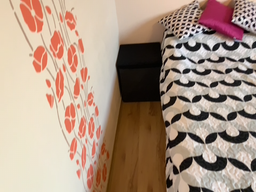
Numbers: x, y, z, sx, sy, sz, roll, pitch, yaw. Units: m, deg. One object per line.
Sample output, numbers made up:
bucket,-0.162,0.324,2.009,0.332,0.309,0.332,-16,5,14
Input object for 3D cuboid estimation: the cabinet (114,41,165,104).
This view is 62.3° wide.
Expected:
cabinet,0.120,-0.240,2.100,0.430,0.440,0.420,-3,38,4
